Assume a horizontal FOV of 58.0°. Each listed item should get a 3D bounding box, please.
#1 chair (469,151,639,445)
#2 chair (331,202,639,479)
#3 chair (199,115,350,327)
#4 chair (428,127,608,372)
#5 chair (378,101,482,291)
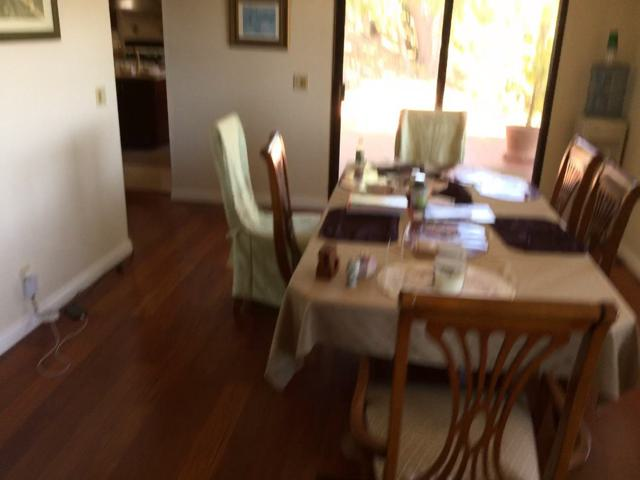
[{"bbox_3d":[0.930,0.210,2.370,0.450,1.040,0.510,6,18,8],"label":"chair"},{"bbox_3d":[0.410,0.500,1.580,0.680,1.040,0.670,3,19,8],"label":"chair"},{"bbox_3d":[-0.220,-0.140,3.270,0.690,1.040,0.600,3,19,8],"label":"chair"},{"bbox_3d":[0.910,0.020,2.860,0.650,1.060,0.530,3,19,8],"label":"chair"},{"bbox_3d":[0.680,-0.310,3.720,0.530,1.080,0.630,3,19,8],"label":"chair"}]
